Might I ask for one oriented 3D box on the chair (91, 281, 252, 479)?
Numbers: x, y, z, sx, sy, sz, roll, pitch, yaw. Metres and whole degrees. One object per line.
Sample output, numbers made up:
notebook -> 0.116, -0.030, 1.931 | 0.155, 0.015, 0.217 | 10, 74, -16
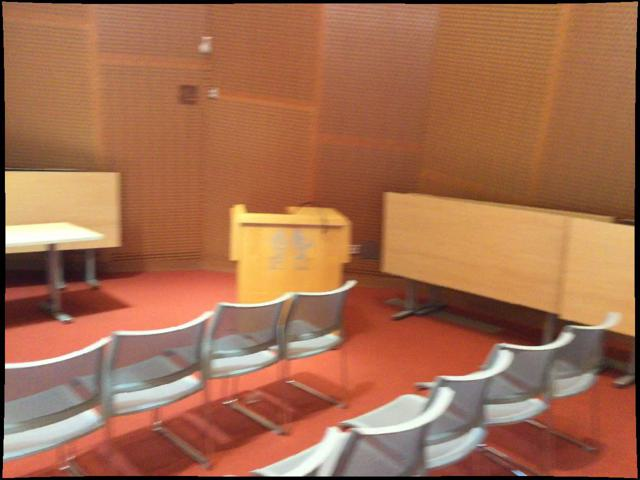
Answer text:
chair -> -0.639, 0.611, 2.600 | 0.240, 0.701, 0.690 | 11, 13, 34

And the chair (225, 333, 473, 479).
chair -> 0.090, 0.811, 2.000 | 0.590, 0.721, 0.580 | 12, 14, 38

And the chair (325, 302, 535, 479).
chair -> 0.450, 0.731, 2.400 | 0.540, 0.731, 0.640 | 13, 15, 42

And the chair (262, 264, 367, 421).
chair -> -0.030, 0.541, 3.190 | 0.510, 0.731, 0.240 | -6, 14, -39

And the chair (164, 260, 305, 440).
chair -> -0.450, 0.521, 2.960 | 0.500, 0.691, 0.520 | -6, 14, -39

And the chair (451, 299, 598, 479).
chair -> 0.939, 0.711, 2.620 | 0.280, 0.721, 0.720 | 13, 15, 42
